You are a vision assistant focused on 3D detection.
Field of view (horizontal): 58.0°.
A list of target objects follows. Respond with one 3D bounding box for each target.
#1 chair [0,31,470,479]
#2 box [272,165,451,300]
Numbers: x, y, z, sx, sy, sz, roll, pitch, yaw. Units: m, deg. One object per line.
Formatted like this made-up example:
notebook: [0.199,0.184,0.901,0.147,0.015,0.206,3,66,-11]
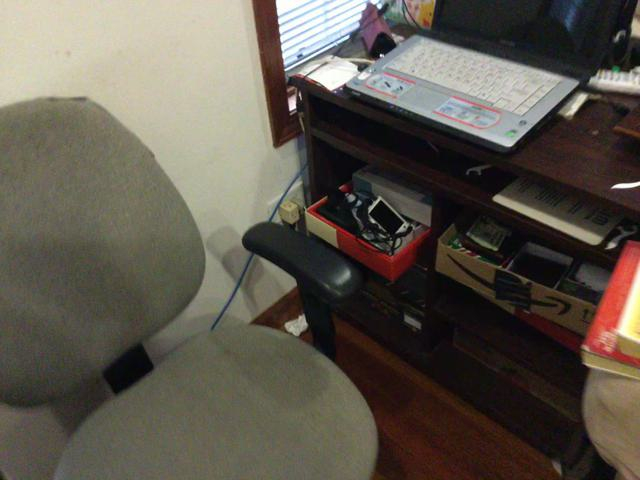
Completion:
chair: [-0.230,0.260,0.930,0.670,0.900,0.570,25,49,33]
box: [0.090,-0.030,1.320,0.370,0.120,0.170,25,49,33]
